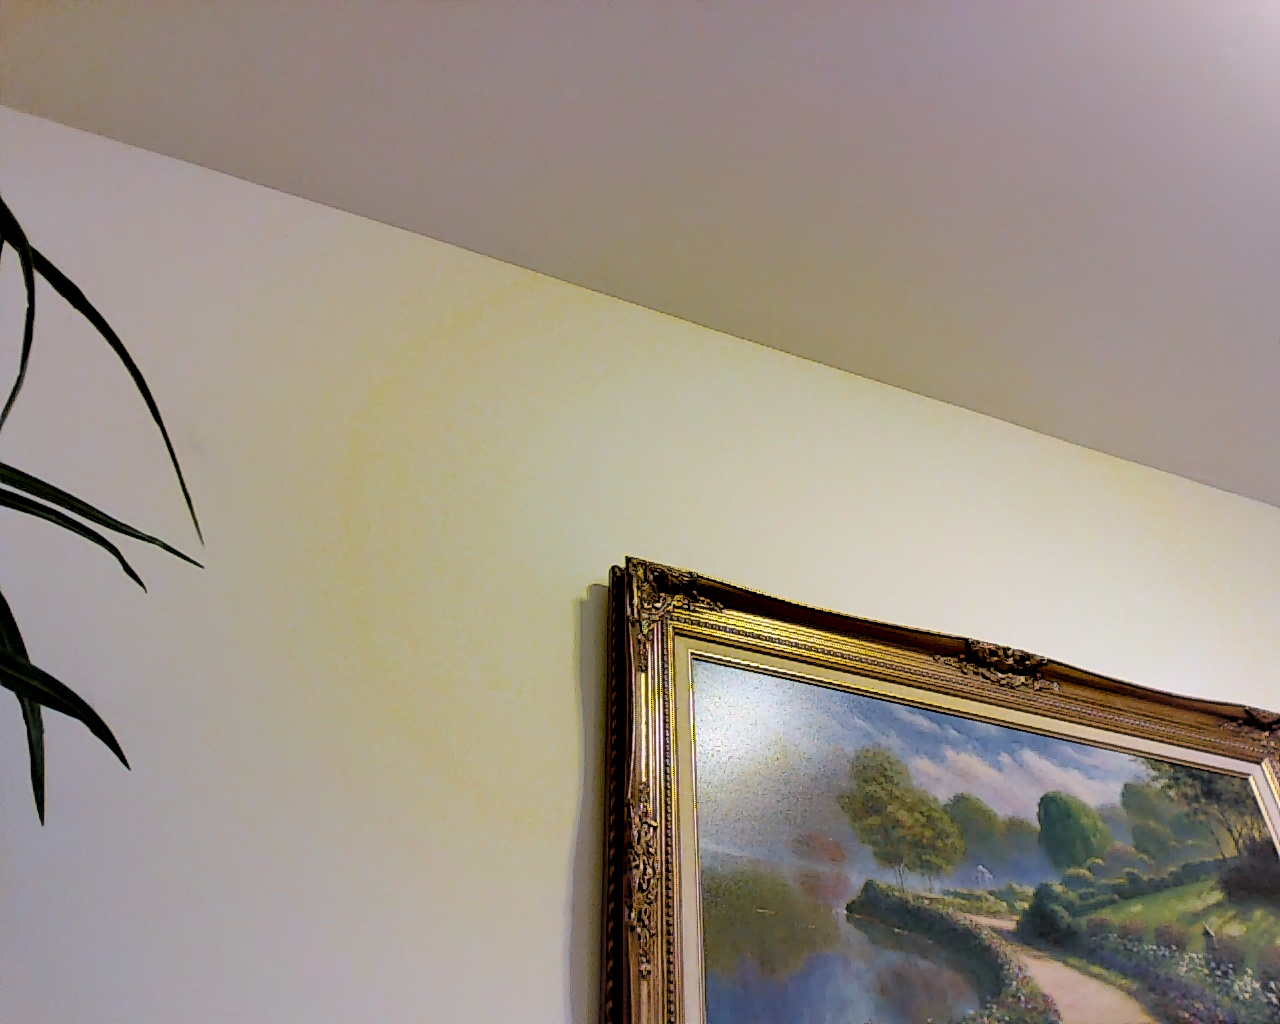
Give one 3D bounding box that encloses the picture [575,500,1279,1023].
[{"bbox_3d":[0.480,0.460,1.270,1.130,0.850,0.070,14,-43,-15],"label":"picture"}]
